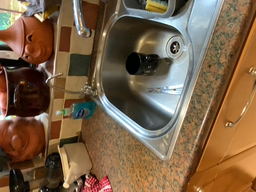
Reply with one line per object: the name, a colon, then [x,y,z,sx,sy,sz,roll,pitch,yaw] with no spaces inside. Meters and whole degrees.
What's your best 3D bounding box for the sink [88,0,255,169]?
sink: [0.090,-0.090,0.780,0.520,0.190,0.420,34,118,44]
